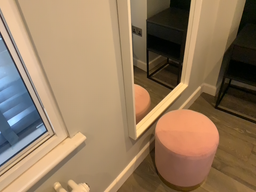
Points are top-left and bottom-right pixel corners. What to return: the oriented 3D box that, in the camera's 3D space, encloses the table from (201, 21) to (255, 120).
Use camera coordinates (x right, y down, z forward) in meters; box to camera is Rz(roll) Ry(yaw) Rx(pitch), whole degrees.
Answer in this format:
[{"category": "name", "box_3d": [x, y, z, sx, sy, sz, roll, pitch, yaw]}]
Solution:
[{"category": "table", "box_3d": [0.990, -0.220, 1.810, 0.500, 0.630, 0.370, 24, 49, 29]}]
